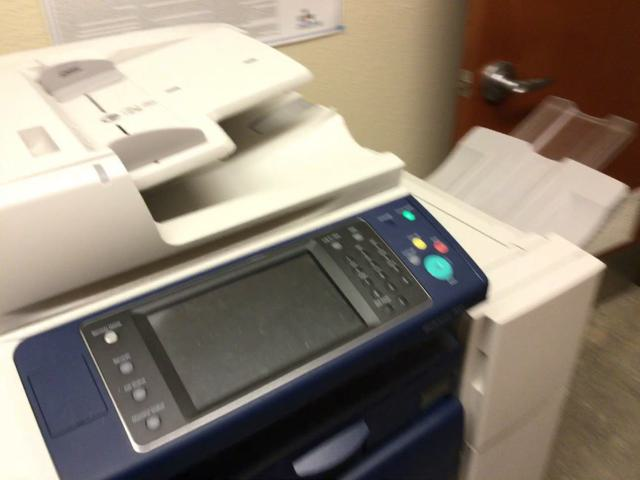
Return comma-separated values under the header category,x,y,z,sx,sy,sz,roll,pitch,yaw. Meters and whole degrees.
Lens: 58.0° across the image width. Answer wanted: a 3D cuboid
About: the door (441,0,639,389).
category,x,y,z,sx,sy,sz,roll,pitch,yaw
door,0.790,-0.640,1.360,1.060,2.150,0.090,-18,35,-20
